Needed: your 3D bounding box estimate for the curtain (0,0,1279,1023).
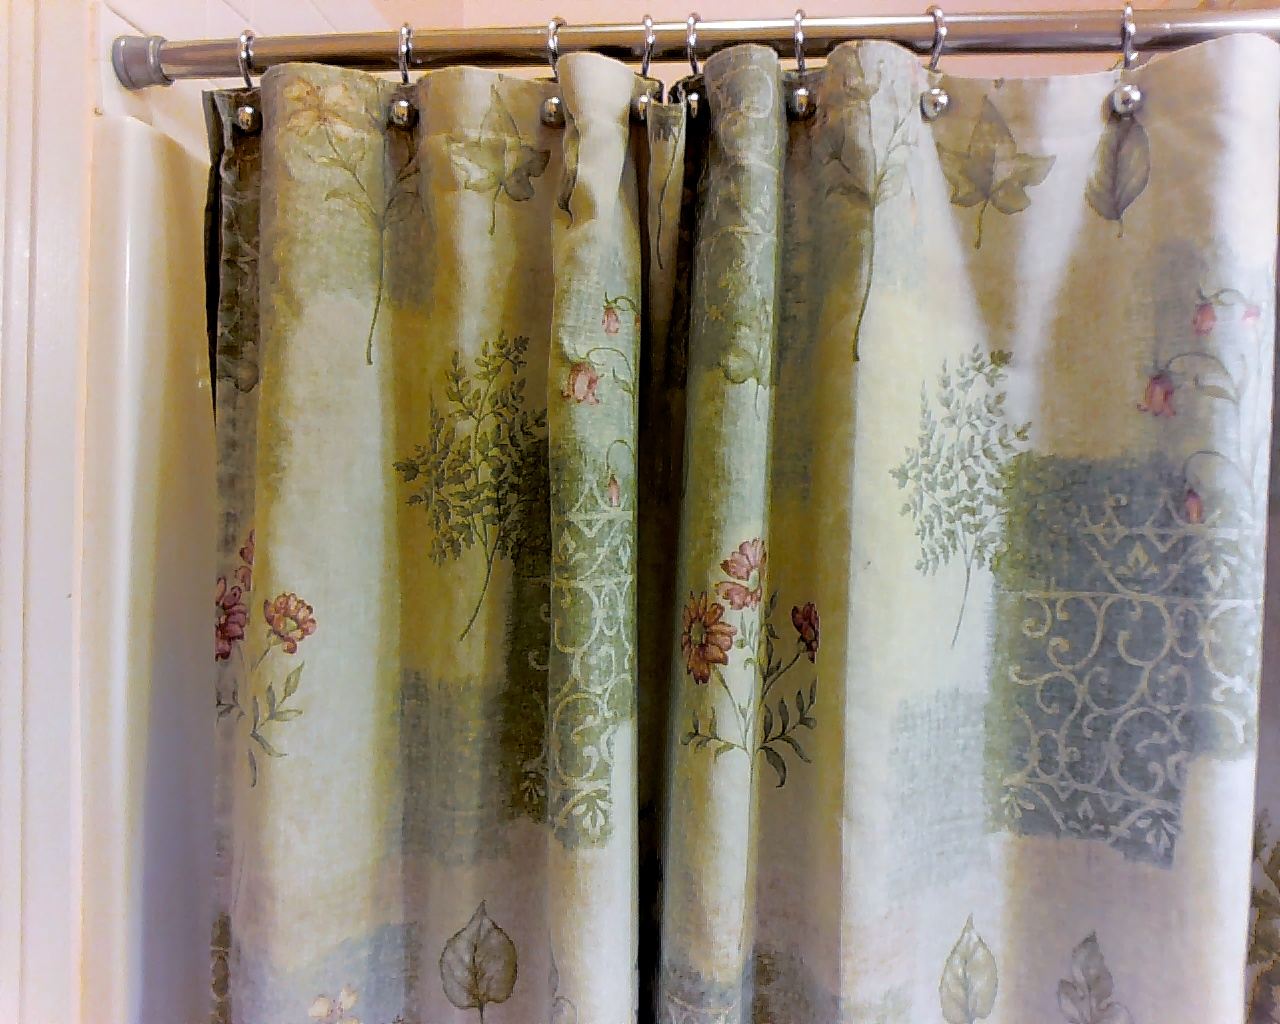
[{"bbox_3d":[0.030,0.490,0.700,0.880,2.151,0.250,1,0,6],"label":"curtain"}]
